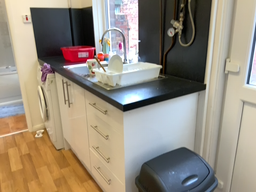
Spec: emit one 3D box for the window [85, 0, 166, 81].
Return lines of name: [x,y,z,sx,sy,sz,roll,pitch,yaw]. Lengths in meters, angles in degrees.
window: [-0.090,-1.100,2.110,0.310,1.690,1.040,-13,22,-31]

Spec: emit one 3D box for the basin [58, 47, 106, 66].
basin: [-0.530,-0.460,2.430,0.420,0.130,0.380,-13,22,-32]
